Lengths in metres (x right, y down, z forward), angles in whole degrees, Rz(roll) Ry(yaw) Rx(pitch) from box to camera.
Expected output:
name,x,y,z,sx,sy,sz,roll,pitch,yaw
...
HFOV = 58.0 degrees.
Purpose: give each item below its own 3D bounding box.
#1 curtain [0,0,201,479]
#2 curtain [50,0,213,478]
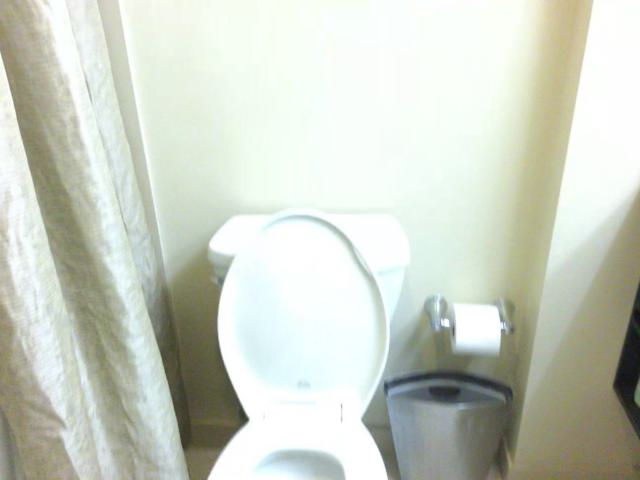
name,x,y,z,sx,sy,sz,roll,pitch,yaw
curtain,-0.390,0.060,0.870,0.180,1.660,0.300,0,26,6
curtain,-0.430,-0.200,1.280,0.110,1.870,0.140,0,26,6
